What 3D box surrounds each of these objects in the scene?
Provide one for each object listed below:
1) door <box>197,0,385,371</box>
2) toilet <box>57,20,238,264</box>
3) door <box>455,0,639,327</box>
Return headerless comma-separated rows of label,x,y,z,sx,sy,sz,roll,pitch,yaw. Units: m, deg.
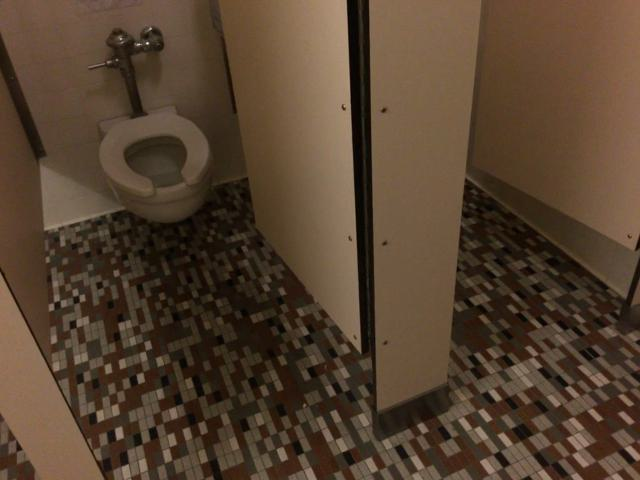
door,-0.100,-0.450,1.120,0.070,1.450,0.630,-23,39,-22
toilet,-0.590,-0.360,1.960,0.370,0.550,0.620,-18,37,-16
door,0.630,-0.500,1.490,0.080,1.460,0.630,-23,39,-22
